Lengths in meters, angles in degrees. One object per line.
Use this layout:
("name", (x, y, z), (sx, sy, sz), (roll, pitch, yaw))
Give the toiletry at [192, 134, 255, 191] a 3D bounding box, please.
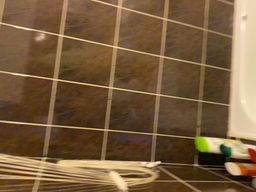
("toiletry", (0.510, 0.280, 0.870), (0.500, 0.210, 0.180), (167, 109, -71))
